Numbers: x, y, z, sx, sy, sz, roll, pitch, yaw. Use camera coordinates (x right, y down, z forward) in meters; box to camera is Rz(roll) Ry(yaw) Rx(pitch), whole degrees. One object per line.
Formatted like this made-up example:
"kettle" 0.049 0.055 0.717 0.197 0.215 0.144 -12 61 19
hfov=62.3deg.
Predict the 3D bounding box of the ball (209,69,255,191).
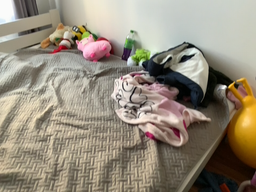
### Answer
"ball" 0.770 0.220 1.230 0.320 0.550 0.460 24 41 32
